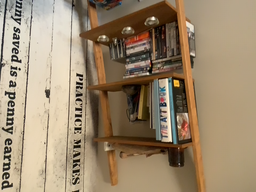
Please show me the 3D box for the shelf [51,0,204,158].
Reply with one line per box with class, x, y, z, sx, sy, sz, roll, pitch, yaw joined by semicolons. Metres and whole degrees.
shelf;-0.010;-0.480;1.240;0.680;1.510;0.470;-6;170;39
